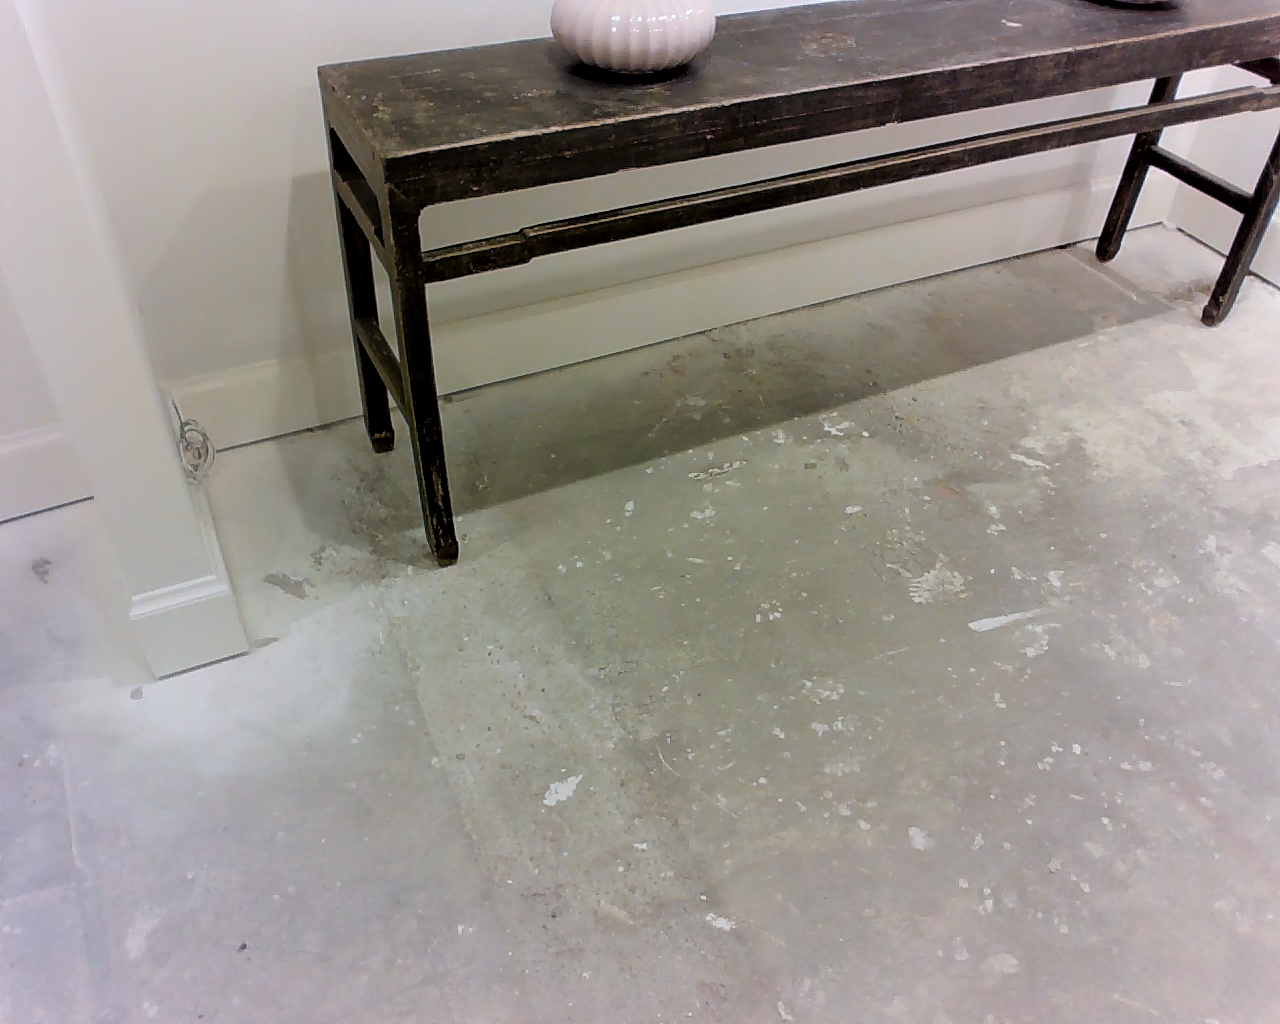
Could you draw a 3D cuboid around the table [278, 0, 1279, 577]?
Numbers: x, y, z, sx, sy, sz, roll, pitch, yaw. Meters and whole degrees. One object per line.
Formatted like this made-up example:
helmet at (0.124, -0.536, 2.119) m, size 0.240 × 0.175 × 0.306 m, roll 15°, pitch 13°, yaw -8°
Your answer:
table at (0.500, -0.690, 2.490) m, size 2.340 × 0.870 × 0.590 m, roll -17°, pitch 45°, yaw -19°
